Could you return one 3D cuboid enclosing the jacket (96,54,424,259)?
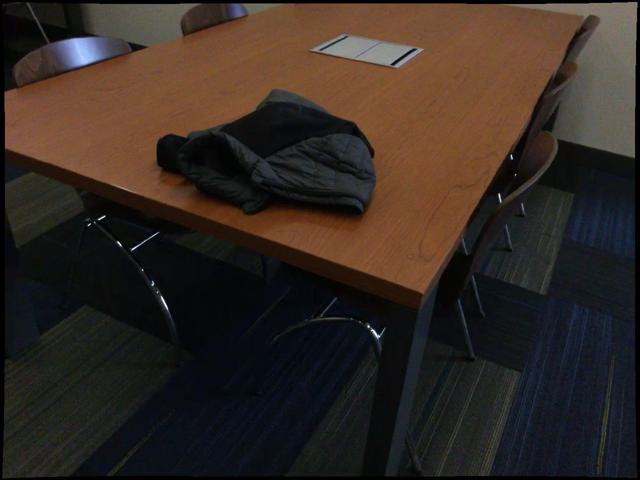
[{"bbox_3d":[-0.100,-0.221,1.240,0.499,0.150,0.490,18,37,19],"label":"jacket"}]
